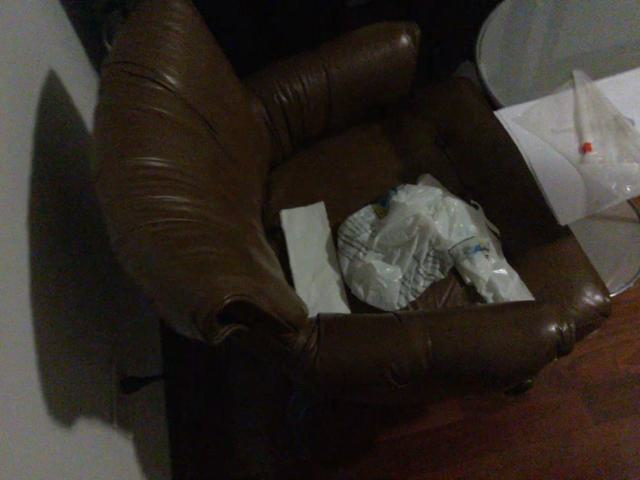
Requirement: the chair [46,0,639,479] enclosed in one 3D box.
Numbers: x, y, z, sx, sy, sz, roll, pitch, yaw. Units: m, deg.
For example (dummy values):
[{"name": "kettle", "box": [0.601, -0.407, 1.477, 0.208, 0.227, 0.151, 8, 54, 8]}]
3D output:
[{"name": "chair", "box": [0.090, 0.020, 1.010, 0.700, 0.810, 0.680, -16, 54, -1]}]
